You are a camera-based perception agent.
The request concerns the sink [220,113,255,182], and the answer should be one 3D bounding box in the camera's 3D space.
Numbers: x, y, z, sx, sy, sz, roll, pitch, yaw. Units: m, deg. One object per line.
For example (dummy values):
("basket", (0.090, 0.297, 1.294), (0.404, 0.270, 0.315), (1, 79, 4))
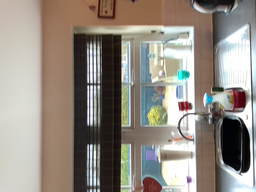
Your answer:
("sink", (0.790, 0.320, 1.440), (0.370, 0.160, 0.380), (143, 126, -88))
